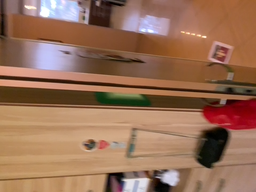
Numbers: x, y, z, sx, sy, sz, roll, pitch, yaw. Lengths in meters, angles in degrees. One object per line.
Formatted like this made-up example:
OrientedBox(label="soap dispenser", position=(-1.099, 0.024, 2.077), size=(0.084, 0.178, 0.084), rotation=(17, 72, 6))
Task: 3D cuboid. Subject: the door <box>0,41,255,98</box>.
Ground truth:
OrientedBox(label="door", position=(0.220, -0.130, 1.050), size=(0.870, 1.940, 0.070), rotation=(-142, 57, -68))
